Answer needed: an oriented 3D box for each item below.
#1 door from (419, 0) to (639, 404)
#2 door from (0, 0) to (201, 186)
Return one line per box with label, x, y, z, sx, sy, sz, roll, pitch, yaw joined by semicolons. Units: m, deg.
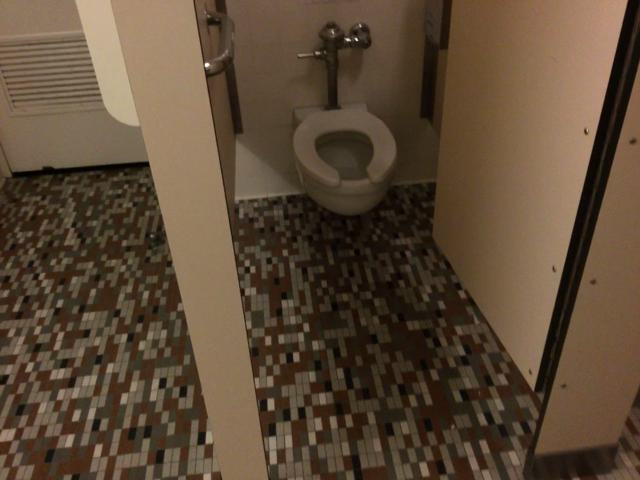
door;0.370;-0.420;1.100;0.070;1.450;0.630;-10;35;-9
door;-1.060;-1.050;2.210;0.900;1.780;0.090;-6;34;-3
